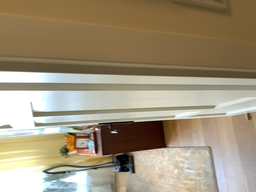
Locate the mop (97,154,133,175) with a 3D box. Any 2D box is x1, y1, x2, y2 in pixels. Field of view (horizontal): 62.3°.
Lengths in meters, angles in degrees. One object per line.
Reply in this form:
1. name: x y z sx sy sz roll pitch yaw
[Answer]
1. mop: -0.240 1.190 3.760 0.600 0.450 0.250 152 115 -65
